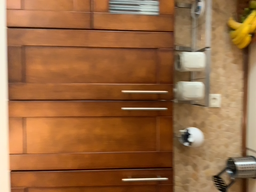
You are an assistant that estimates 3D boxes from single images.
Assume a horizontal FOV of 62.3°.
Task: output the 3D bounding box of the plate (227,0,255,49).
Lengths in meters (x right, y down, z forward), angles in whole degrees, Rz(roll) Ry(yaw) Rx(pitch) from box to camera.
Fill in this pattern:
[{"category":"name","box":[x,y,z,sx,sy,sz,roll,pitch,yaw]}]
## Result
[{"category":"plate","box":[0.680,-0.420,1.190,0.210,0.130,0.280,-144,54,-83]}]
